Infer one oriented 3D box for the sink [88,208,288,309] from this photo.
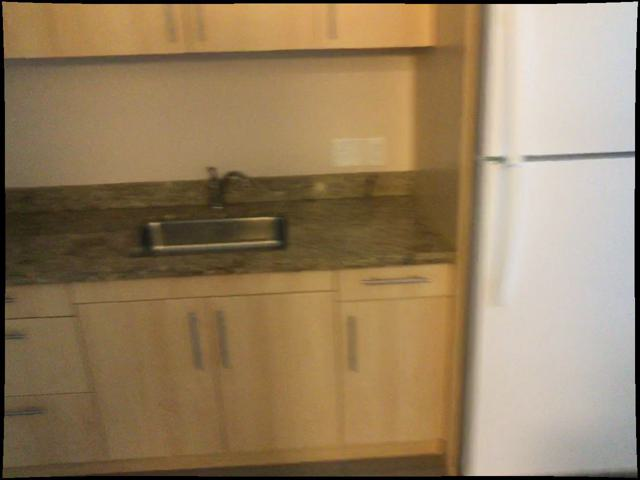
[{"bbox_3d":[-0.430,0.050,2.060,0.619,0.190,0.420,-2,20,-3],"label":"sink"}]
